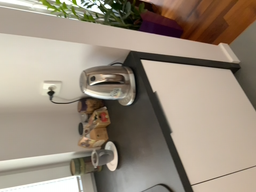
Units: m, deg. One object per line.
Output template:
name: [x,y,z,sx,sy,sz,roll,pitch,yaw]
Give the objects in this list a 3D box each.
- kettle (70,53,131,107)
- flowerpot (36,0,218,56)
kettle: [-0.140,-0.070,1.020,0.150,0.220,0.190,-51,48,46]
flowerpot: [-0.070,-0.910,1.790,0.920,1.240,0.580,62,139,39]
